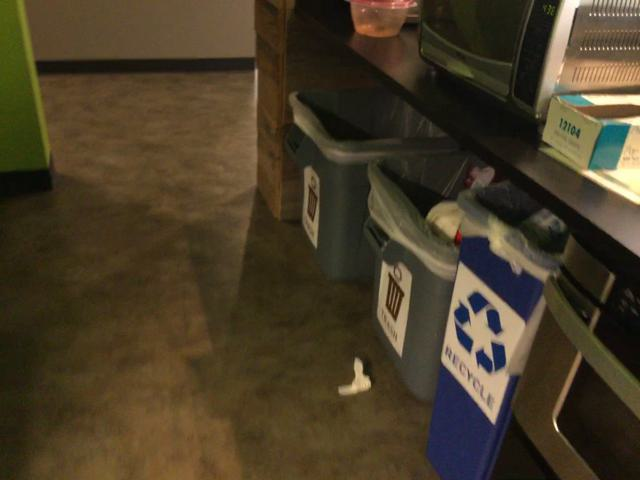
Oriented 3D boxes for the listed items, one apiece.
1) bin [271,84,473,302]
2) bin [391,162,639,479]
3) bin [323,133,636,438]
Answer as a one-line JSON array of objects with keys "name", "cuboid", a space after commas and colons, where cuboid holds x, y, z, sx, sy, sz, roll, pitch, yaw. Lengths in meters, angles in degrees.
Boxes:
[{"name": "bin", "cuboid": [0.140, -0.200, 2.140, 0.520, 0.590, 0.540, -5, 33, -16]}, {"name": "bin", "cuboid": [0.410, 0.260, 1.260, 0.290, 0.770, 0.340, -5, 33, -16]}, {"name": "bin", "cuboid": [0.380, 0.090, 1.700, 0.540, 0.590, 0.620, -5, 33, -16]}]
